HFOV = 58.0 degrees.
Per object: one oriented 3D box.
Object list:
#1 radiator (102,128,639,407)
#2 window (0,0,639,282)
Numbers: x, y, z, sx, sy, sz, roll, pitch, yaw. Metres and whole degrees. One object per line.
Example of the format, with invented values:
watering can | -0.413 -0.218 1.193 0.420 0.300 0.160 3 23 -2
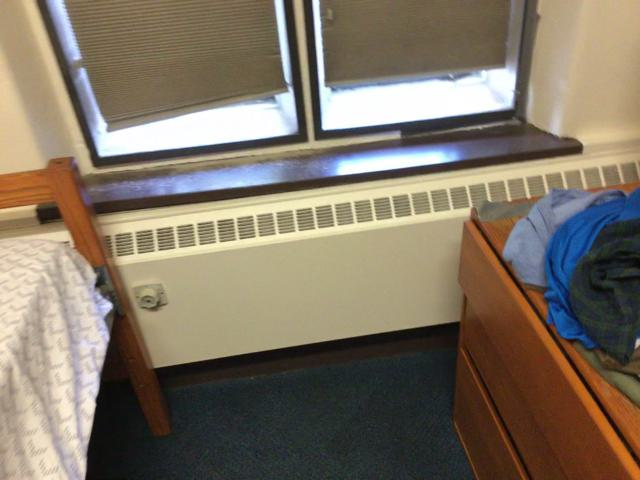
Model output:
radiator | 0.240 0.080 1.550 1.430 0.590 0.180 -7 35 -4
window | -0.050 -0.700 1.140 1.390 1.470 0.400 -7 35 -4
